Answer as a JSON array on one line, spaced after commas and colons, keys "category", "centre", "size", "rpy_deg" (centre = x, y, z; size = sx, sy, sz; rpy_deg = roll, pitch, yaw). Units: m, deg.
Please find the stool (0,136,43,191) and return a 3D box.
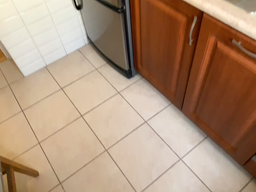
[{"category": "stool", "centre": [-0.670, 0.450, 1.040], "size": [0.290, 0.480, 0.330], "rpy_deg": [-29, 57, -15]}]
